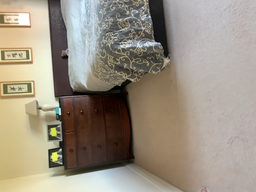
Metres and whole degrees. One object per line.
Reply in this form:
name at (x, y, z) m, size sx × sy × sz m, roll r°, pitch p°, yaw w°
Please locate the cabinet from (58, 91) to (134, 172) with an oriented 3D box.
cabinet at (-0.550, 0.540, 3.500) m, size 0.550 × 1.080 × 1.100 m, roll 154°, pitch 111°, yaw -71°
